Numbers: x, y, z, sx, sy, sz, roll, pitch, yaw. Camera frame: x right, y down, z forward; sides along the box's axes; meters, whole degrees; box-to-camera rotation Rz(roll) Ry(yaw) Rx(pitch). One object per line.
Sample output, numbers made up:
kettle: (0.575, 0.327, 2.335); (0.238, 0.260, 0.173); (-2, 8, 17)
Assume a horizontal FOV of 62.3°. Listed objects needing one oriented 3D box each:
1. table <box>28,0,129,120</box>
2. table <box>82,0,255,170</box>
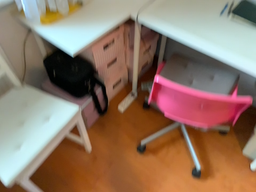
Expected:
table: (-0.280, -0.250, 1.470); (0.420, 0.660, 0.390); (34, 59, 24)
table: (0.390, -0.250, 1.470); (1.450, 0.660, 0.470); (34, 59, 24)
